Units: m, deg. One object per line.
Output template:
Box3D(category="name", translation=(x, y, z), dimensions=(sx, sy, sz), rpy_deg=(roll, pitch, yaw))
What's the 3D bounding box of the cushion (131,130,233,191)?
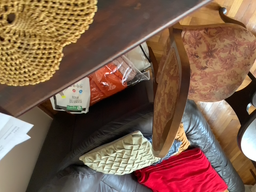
Box3D(category="cushion", translation=(0.470, 0.660, 1.720), dimensions=(0.560, 0.150, 0.810), rpy_deg=(-25, 127, 17))
